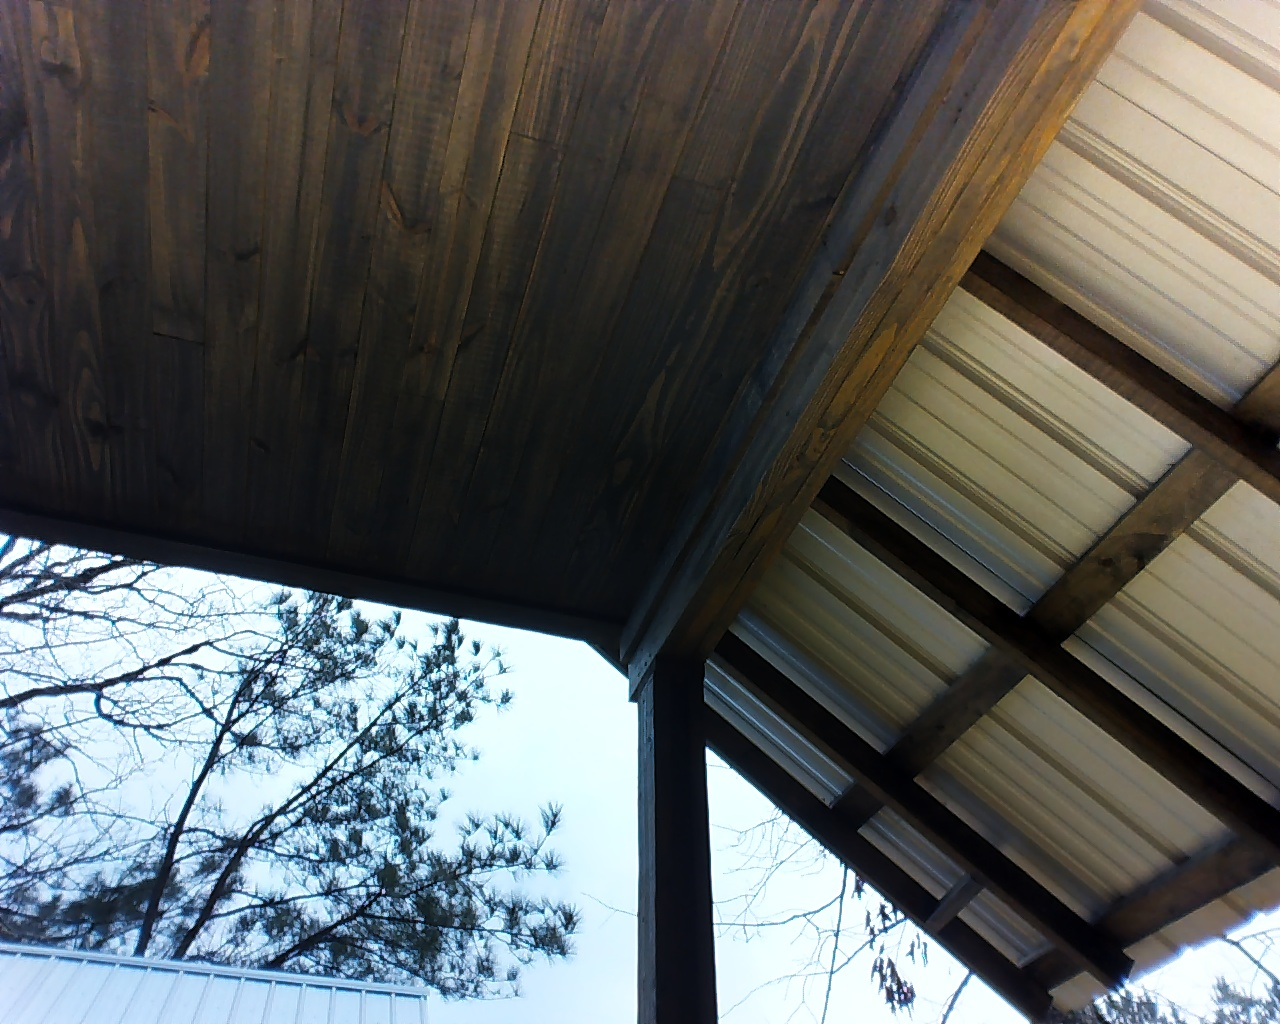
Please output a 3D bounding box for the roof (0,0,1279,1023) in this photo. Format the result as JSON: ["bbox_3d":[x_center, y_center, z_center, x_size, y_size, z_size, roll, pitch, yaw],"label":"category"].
[{"bbox_3d":[0.080,-1.300,0.530,4.170,1.180,5.890,12,-43,-13],"label":"roof"}]
